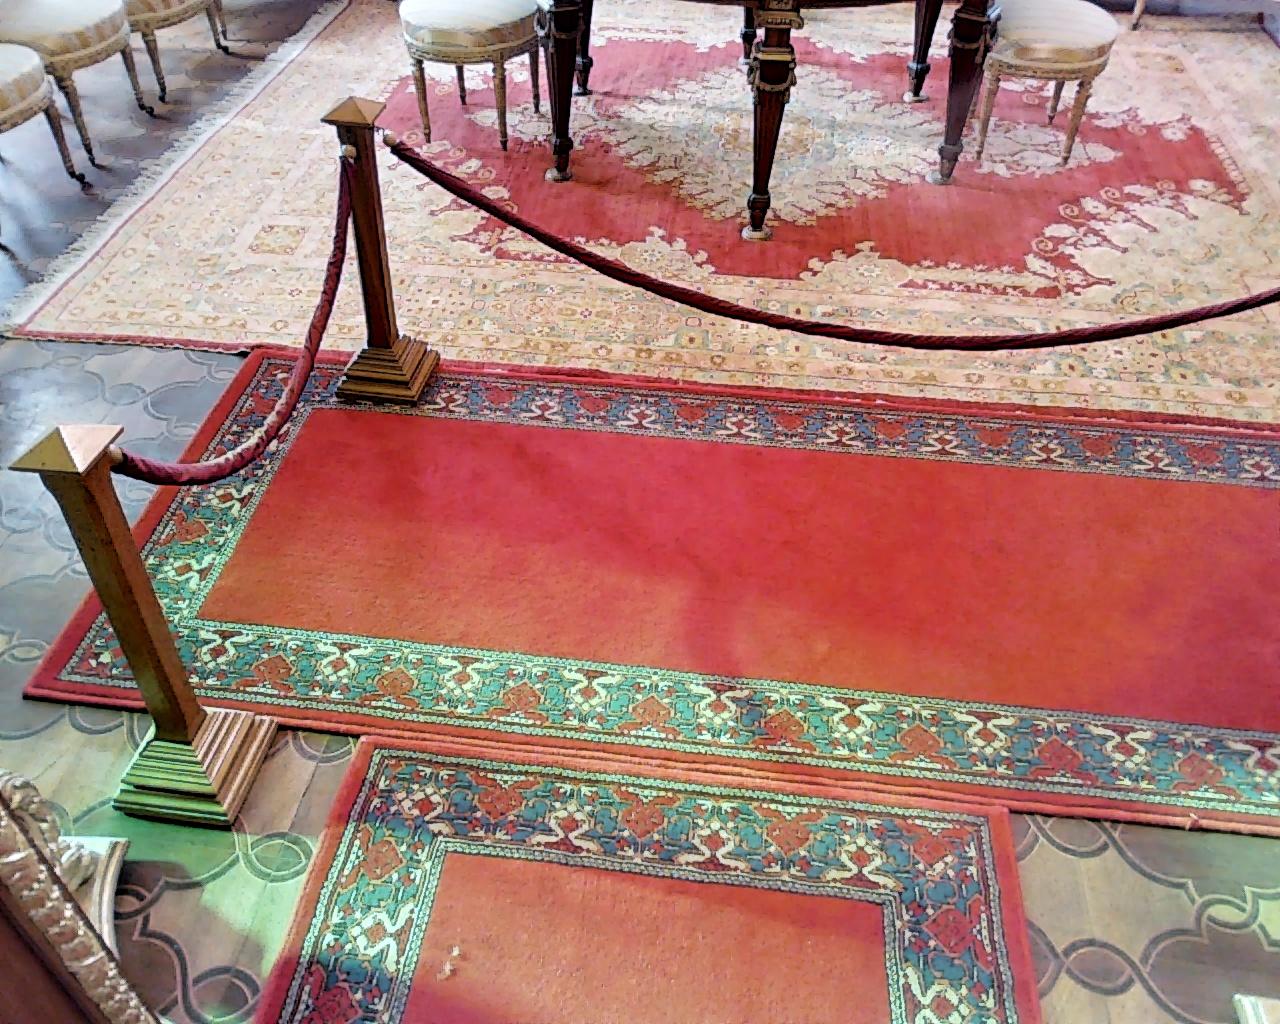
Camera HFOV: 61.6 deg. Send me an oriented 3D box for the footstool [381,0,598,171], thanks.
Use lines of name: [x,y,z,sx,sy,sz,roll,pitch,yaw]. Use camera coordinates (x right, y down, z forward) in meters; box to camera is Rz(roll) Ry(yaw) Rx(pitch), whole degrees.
footstool: [-0.550,-1.700,4.090,0.550,0.490,0.560,22,47,22]

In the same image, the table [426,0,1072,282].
table: [0.480,-1.810,3.870,1.730,0.830,1.740,22,47,22]

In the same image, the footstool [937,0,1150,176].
footstool: [1.460,-1.620,3.990,0.580,0.490,0.550,5,43,6]
